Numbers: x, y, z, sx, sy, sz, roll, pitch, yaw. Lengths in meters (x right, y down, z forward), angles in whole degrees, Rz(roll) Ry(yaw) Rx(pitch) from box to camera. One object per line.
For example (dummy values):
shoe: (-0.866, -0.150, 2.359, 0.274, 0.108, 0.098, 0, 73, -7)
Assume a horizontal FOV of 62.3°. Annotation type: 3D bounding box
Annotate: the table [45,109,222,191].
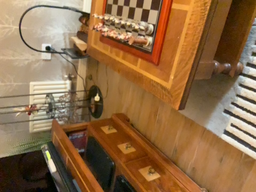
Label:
table: (-0.080, 0.740, 1.460, 1.120, 0.630, 0.830, 35, 121, 47)
